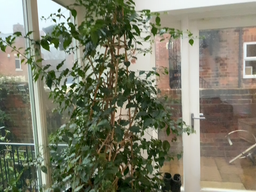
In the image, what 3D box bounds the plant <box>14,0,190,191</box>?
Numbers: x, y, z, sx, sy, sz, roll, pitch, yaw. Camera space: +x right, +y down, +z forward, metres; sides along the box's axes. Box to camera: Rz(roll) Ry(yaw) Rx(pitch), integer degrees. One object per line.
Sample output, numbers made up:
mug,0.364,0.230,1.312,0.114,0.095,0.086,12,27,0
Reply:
plant,0.010,0.310,1.360,0.660,1.970,0.990,1,7,21
